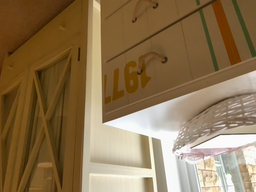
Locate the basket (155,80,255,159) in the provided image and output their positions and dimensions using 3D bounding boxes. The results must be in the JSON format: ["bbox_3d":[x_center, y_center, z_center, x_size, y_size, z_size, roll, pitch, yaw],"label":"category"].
[{"bbox_3d":[0.400,0.130,0.810,0.410,0.140,0.440,6,154,-22],"label":"basket"}]
